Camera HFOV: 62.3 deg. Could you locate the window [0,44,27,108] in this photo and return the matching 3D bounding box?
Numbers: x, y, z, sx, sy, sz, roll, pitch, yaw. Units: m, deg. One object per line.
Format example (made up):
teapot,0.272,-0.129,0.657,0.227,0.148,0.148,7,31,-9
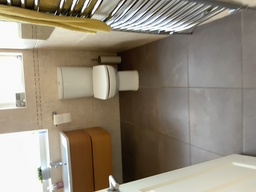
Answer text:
window,-1.670,-0.210,2.340,0.150,0.960,0.720,5,98,63
